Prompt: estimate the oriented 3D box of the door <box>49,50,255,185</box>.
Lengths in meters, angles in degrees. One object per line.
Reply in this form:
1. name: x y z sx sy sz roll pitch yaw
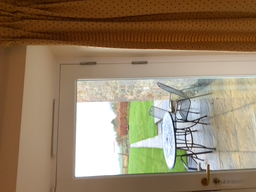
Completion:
1. door: 0.540 0.110 1.590 0.090 2.150 0.940 103 165 -76
